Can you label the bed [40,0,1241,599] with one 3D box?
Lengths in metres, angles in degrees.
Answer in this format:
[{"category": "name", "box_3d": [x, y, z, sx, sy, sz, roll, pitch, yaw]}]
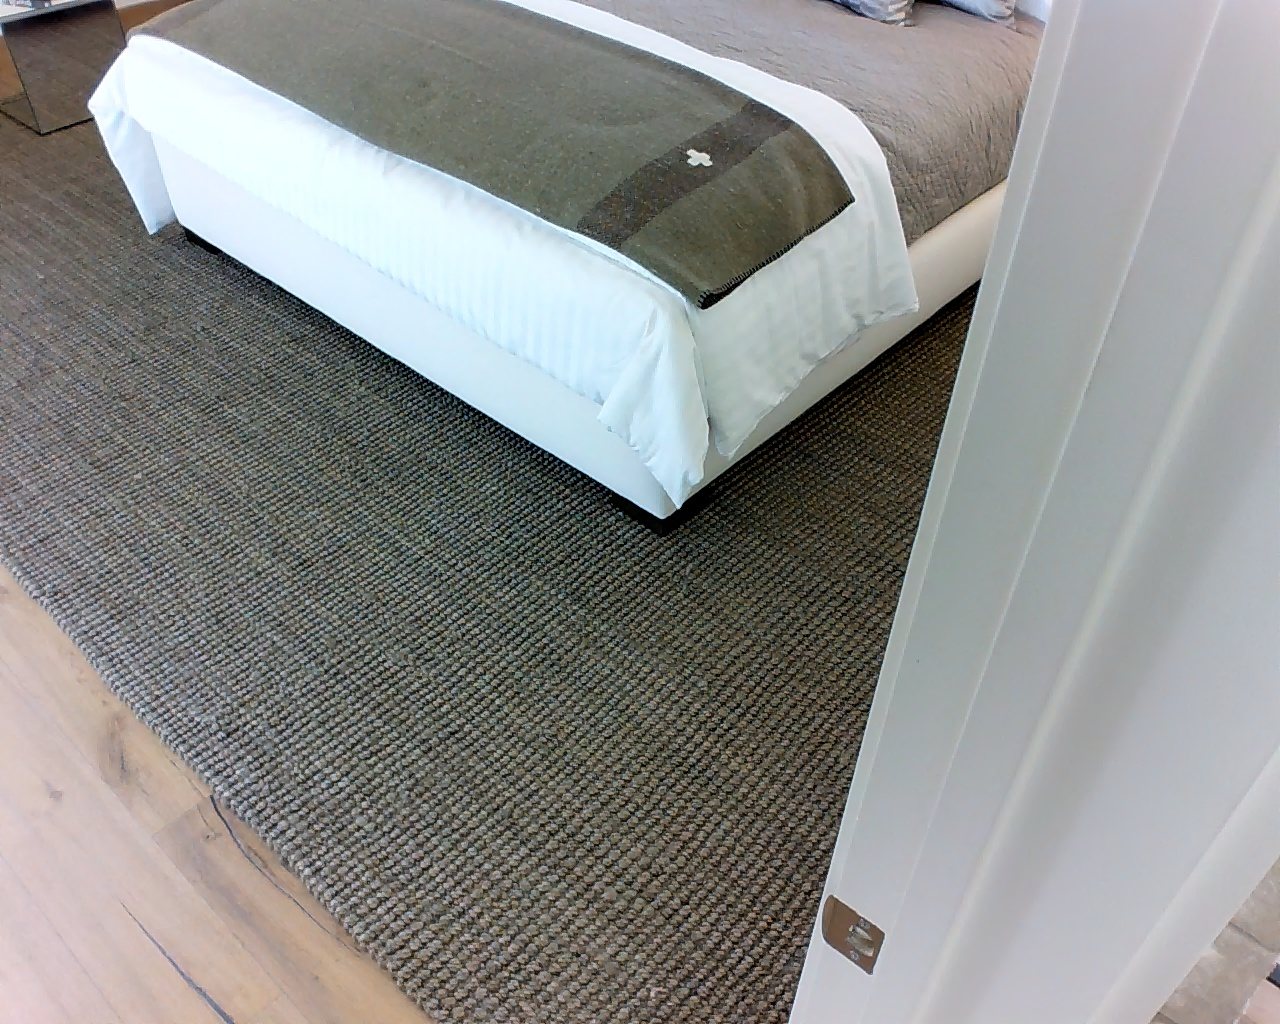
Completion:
[{"category": "bed", "box_3d": [0.090, -1.600, 2.790, 2.240, 1.770, 2.460, 32, 51, 29]}]
